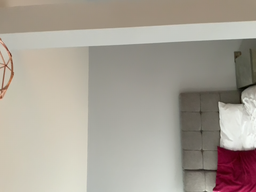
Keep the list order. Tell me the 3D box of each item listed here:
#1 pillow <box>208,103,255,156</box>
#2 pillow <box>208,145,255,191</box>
[{"bbox_3d":[1.160,0.360,2.390,0.120,0.420,0.520,8,-93,-55],"label":"pillow"},{"bbox_3d":[1.140,0.840,2.300,0.150,0.480,0.550,13,-103,-48],"label":"pillow"}]
